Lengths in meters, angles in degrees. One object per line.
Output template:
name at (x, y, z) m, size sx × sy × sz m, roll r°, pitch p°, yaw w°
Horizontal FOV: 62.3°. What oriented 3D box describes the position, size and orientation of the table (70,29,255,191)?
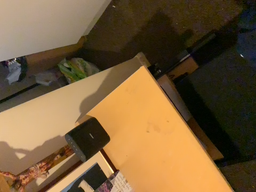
table at (0.270, 0.130, 1.030) m, size 0.510 × 0.740 × 0.590 m, roll -35°, pitch 88°, yaw 44°
